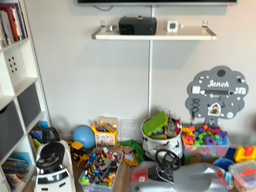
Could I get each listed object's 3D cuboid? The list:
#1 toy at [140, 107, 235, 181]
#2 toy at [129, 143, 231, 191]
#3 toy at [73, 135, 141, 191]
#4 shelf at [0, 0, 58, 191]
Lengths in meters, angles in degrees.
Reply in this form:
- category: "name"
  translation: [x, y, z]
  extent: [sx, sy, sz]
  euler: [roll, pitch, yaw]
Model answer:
- category: "toy"
  translation: [0.470, 0.410, 1.890]
  extent: [0.700, 0.460, 0.400]
  euler: [2, 28, 5]
- category: "toy"
  translation: [0.370, 0.650, 1.630]
  extent: [0.660, 0.310, 0.390]
  euler: [4, 29, 10]
- category: "toy"
  translation: [-0.140, 0.620, 1.780]
  extent: [0.420, 0.280, 0.500]
  euler: [5, 29, 10]
- category: "shelf"
  translation: [-1.050, -0.020, 1.590]
  extent: [0.510, 1.460, 0.770]
  euler: [2, 28, 5]
